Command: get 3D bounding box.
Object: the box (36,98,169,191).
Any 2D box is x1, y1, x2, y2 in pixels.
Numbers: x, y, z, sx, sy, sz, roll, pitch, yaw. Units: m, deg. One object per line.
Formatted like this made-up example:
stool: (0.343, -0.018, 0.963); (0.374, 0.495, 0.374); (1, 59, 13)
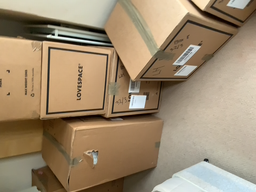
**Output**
box: (-0.200, 0.330, 1.680); (0.590, 0.800, 0.440); (24, 109, 45)
